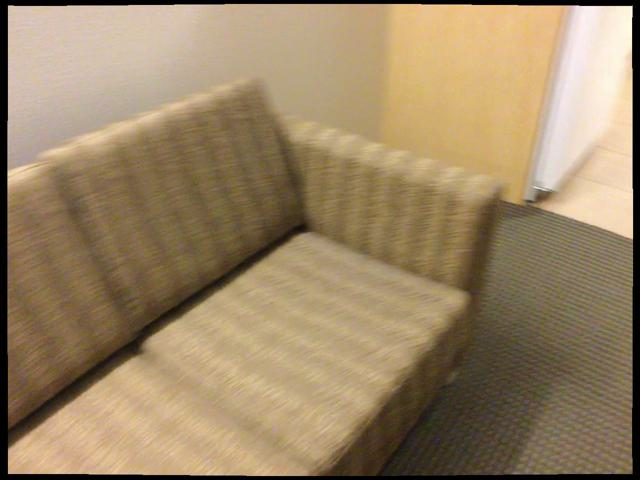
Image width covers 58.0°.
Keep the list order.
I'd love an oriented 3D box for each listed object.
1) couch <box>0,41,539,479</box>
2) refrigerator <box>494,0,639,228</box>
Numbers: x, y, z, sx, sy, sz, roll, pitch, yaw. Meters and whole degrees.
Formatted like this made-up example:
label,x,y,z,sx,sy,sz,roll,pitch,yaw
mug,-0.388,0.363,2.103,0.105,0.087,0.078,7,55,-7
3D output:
label,x,y,z,sx,sy,sz,roll,pitch,yaw
couch,-0.519,0.391,1.060,0.959,0.801,2.039,23,43,30
refrigerator,1.028,-0.982,2.070,0.220,1.702,0.870,23,43,30
